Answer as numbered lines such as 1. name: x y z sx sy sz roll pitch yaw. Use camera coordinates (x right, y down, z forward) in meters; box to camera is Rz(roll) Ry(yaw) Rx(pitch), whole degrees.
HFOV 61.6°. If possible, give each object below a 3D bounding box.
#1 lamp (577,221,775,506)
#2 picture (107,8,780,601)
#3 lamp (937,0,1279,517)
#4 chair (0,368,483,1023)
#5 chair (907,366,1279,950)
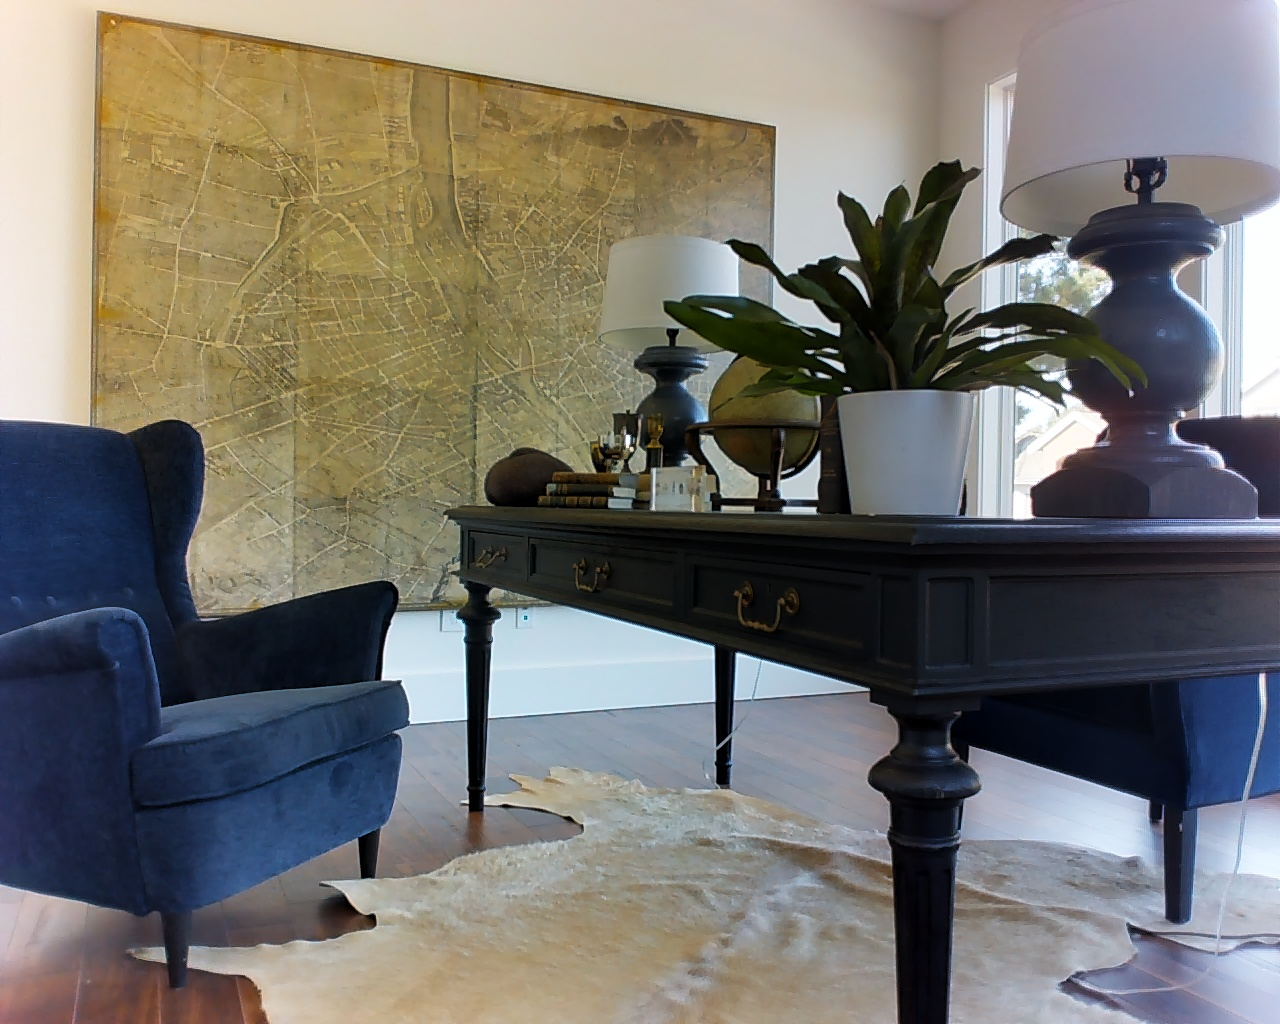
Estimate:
1. lamp: 0.090 -0.370 2.920 0.400 0.700 0.390 1 0 -24
2. picture: -0.580 -0.660 4.010 2.510 1.920 0.050 1 0 -24
3. lamp: 0.730 -0.360 1.550 0.410 0.730 0.400 1 0 -26
4. chair: -0.980 0.270 2.150 1.030 0.970 0.840 1 0 21
5. chair: 1.320 0.270 2.560 0.980 1.070 0.890 1 0 -22
